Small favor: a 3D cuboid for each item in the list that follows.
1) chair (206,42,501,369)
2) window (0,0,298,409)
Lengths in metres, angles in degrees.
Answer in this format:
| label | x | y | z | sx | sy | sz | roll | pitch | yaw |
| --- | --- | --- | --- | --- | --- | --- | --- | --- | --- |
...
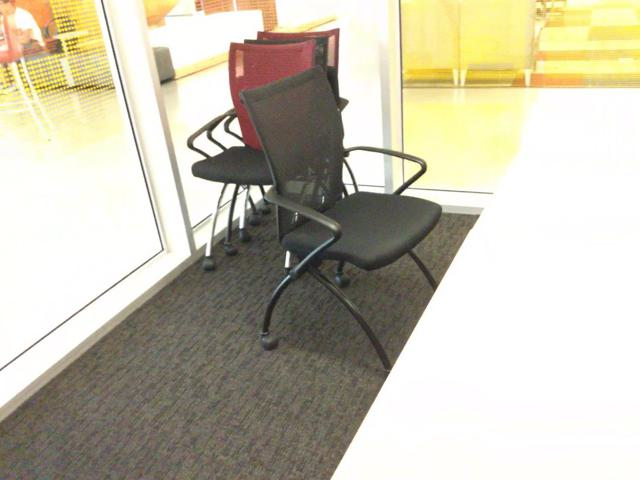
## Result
| label | x | y | z | sx | sy | sz | roll | pitch | yaw |
| --- | --- | --- | --- | --- | --- | --- | --- | --- | --- |
| chair | 0.160 | -0.190 | 2.080 | 0.750 | 0.850 | 0.620 | -29 | 34 | -35 |
| window | -0.900 | -0.290 | 2.310 | 0.380 | 1.170 | 1.940 | 13 | 33 | 34 |
